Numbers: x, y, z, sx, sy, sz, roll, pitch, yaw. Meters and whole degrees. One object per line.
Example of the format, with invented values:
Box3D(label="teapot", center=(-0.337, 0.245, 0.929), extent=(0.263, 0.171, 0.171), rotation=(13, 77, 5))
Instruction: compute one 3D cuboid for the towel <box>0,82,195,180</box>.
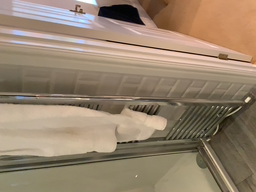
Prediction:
Box3D(label="towel", center=(-0.200, 0.160, 0.980), extent=(0.410, 0.950, 0.180), rotation=(-62, 38, 41))
